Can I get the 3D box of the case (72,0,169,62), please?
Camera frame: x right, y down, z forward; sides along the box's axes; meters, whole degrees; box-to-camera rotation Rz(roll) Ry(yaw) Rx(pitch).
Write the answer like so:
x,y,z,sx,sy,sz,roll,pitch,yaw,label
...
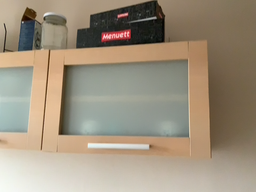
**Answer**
x,y,z,sx,sy,sz,roll,pitch,yaw,label
-0.010,-0.310,0.910,0.360,0.250,0.250,0,-9,11,case
